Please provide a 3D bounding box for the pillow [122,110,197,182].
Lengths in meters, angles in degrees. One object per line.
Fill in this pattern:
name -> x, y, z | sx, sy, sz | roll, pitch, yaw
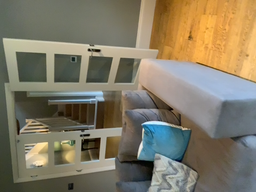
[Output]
pillow -> 0.280, 0.450, 1.870 | 0.520, 0.410, 0.140 | -52, 29, 5
